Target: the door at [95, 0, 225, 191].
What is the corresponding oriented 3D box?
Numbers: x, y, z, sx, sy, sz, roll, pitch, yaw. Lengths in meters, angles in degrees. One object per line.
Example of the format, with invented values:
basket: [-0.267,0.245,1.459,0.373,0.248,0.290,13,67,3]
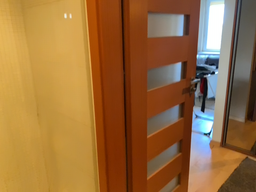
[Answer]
door: [0.260,0.030,1.390,0.930,1.990,0.170,-15,22,-39]
